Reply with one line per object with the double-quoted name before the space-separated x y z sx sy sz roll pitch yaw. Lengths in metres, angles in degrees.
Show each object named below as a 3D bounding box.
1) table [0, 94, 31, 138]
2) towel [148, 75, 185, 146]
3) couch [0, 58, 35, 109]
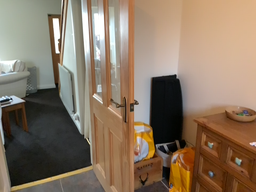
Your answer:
"table" -1.760 0.280 3.240 0.400 0.440 0.480 -11 24 -24
"towel" 0.420 0.150 2.340 0.350 0.710 0.170 -7 15 -24
"couch" -2.650 -0.300 4.530 1.080 0.850 1.000 -6 18 -20
